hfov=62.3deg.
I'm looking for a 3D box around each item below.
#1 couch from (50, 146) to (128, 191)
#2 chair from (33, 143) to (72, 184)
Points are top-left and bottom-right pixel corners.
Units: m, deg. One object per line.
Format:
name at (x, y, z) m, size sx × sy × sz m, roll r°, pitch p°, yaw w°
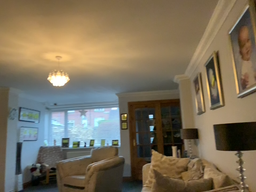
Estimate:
couch at (-0.800, 1.540, 4.310) m, size 1.220 × 0.950 × 0.970 m, roll -10°, pitch -12°, yaw 38°
chair at (-2.090, 1.810, 5.870) m, size 0.730 × 0.930 × 0.890 m, roll 6°, pitch -12°, yaw -39°
